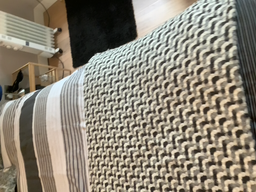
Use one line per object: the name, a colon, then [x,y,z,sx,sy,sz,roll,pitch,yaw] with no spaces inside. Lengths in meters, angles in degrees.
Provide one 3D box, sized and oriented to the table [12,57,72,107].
table: [-0.870,-0.110,2.150,0.380,0.410,0.380,-16,77,36]
